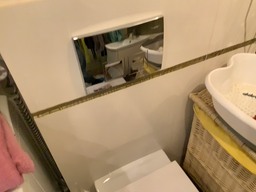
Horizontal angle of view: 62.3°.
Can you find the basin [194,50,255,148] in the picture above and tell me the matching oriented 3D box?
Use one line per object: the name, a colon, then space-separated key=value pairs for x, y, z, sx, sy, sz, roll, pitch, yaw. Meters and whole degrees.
basin: x=0.480 y=0.020 z=0.650 sx=0.330 sy=0.090 sz=0.440 roll=-17 pitch=44 yaw=-15
